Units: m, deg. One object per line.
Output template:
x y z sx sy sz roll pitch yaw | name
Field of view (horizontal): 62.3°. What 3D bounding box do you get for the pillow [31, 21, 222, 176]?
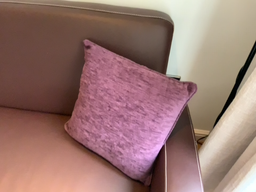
0.010 0.070 0.710 0.440 0.410 0.210 -18 39 35 | pillow
